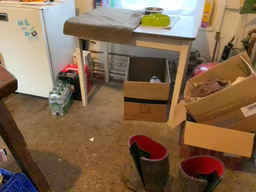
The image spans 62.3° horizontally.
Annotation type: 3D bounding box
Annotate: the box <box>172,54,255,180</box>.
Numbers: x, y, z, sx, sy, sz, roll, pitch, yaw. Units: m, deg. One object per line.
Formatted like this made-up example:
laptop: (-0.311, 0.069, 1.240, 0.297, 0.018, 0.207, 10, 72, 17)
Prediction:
box: (0.610, 0.120, 1.370, 0.510, 0.610, 0.380, 11, 33, 14)

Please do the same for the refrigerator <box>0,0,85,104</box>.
refrigerator: (-0.800, -0.480, 2.050, 0.480, 0.820, 0.660, 8, 33, 10)
